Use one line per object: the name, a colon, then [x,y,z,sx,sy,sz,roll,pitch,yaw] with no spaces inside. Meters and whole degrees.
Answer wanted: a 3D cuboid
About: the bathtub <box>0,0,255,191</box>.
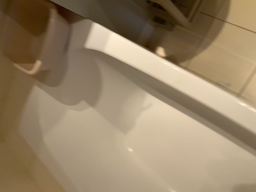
bathtub: [0.170,0.300,1.020,1.880,0.560,0.860,35,106,28]
